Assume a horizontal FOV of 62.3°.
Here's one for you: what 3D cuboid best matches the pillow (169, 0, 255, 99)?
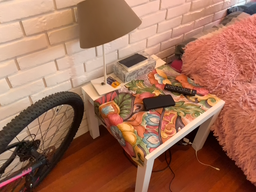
[{"bbox_3d":[0.820,-0.390,1.410,0.950,0.180,0.530,-25,51,-25],"label":"pillow"}]
